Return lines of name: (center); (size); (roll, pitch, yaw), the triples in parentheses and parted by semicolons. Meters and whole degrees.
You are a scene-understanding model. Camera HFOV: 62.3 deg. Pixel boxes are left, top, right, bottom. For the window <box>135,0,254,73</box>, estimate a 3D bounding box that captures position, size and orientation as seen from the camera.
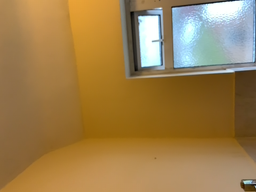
window: (0.450, -0.630, 1.500); (0.050, 0.790, 0.890); (-52, -42, -75)
